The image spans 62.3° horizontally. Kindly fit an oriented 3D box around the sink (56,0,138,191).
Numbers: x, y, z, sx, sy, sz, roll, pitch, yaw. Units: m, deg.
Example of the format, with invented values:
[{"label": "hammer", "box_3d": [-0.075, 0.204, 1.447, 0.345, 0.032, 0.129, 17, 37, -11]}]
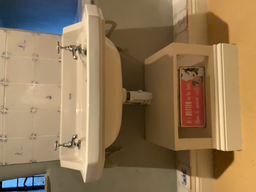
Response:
[{"label": "sink", "box_3d": [-0.170, -0.010, 0.950, 0.470, 0.270, 0.710, 171, 100, -71]}]
